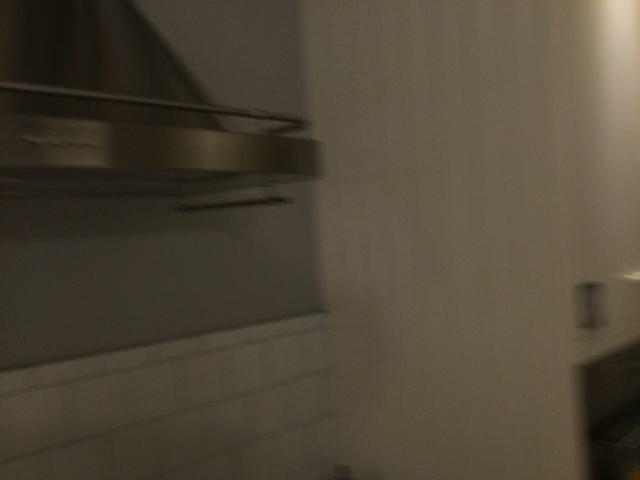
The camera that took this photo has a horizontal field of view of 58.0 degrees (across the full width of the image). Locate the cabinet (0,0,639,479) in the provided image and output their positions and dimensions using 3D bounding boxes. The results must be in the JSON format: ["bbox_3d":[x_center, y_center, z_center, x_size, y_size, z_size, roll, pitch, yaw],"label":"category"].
[{"bbox_3d":[-0.070,0.460,0.920,2.110,2.220,0.680,-3,-1,-41],"label":"cabinet"}]
